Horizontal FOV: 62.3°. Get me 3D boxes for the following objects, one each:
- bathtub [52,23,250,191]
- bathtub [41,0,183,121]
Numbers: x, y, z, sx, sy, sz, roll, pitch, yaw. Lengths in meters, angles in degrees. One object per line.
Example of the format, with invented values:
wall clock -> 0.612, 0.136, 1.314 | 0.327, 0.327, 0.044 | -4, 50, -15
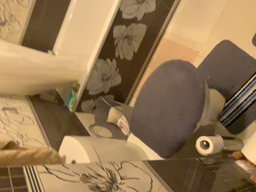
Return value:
bathtub -> 0.150, 0.130, 1.140 | 0.410, 0.790, 0.670 | 37, 107, 44
bathtub -> -0.020, -0.860, 1.760 | 0.750, 0.530, 1.990 | 40, 109, 44
